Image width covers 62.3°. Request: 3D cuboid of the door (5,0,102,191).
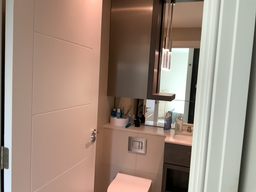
[{"bbox_3d":[-0.400,0.260,1.330,0.030,2.030,0.820,5,5,19],"label":"door"}]
